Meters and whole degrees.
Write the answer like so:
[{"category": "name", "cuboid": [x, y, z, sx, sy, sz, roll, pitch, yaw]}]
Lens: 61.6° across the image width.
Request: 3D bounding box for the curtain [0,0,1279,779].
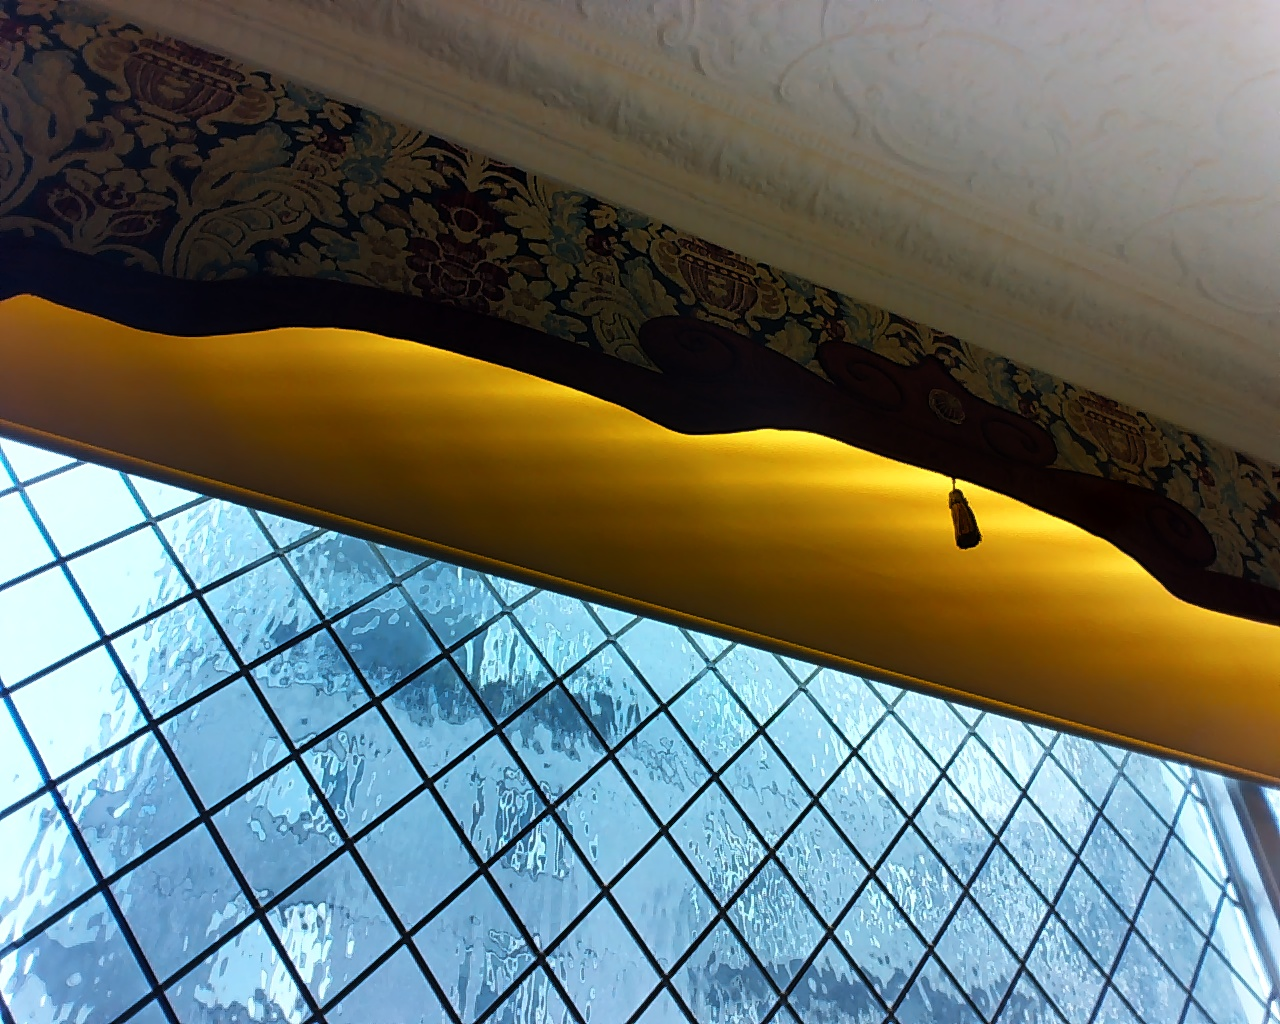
[{"category": "curtain", "cuboid": [0.350, -0.070, 1.510, 3.009, 0.530, 0.260, 16, -44, -17]}]
